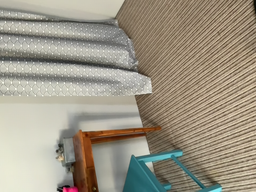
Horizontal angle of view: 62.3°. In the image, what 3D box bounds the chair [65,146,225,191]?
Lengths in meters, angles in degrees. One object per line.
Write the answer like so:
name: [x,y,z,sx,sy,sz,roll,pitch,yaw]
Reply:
chair: [0.090,0.680,1.370,0.460,0.870,0.400,43,126,51]
